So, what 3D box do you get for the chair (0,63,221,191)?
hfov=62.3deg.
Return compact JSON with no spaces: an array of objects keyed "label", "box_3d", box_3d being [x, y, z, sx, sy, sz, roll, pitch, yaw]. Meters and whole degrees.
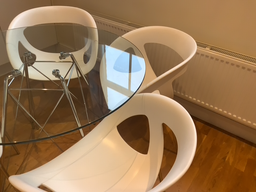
[{"label":"chair","box_3d":[-0.070,0.380,0.930,0.520,0.750,0.610,28,43,28]}]
